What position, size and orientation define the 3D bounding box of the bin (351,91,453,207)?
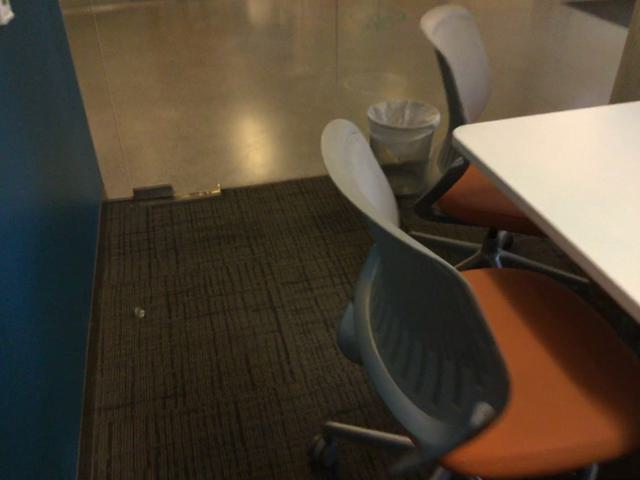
[{"bbox_3d":[0.340,-0.400,2.500,0.330,0.350,0.320,-10,36,-10],"label":"bin"}]
